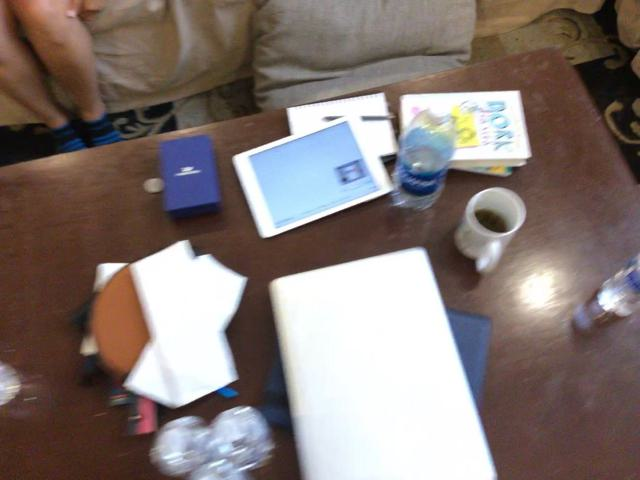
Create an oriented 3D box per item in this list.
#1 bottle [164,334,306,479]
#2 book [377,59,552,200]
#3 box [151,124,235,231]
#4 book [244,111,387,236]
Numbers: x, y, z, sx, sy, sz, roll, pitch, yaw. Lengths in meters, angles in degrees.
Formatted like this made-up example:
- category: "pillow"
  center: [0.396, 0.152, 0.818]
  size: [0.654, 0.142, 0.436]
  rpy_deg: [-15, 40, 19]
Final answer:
- category: "bottle"
  center: [-0.110, 0.260, 0.790]
  size: [0.140, 0.150, 0.200]
  rpy_deg: [-14, 67, -5]
- category: "book"
  center: [0.250, -0.200, 1.030]
  size: [0.240, 0.050, 0.210]
  rpy_deg: [-14, 67, -5]
- category: "box"
  center: [-0.220, -0.110, 1.000]
  size: [0.110, 0.050, 0.160]
  rpy_deg: [-14, 67, -5]
- category: "book"
  center: [-0.010, -0.120, 1.010]
  size: [0.200, 0.030, 0.180]
  rpy_deg: [-17, 67, -7]
